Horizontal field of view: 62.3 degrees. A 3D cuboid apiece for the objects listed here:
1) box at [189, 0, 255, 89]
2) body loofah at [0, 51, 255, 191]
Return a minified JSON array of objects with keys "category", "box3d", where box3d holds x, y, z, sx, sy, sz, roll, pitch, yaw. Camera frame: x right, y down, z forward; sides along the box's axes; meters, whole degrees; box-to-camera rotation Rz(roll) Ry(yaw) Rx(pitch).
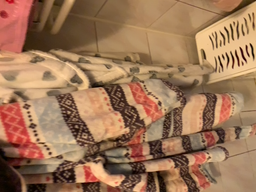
[{"category":"box","box3d":[0.630,-0.220,1.010,0.380,0.490,0.270,-28,68,54]},{"category":"body loofah","box3d":[0.060,0.120,0.650,0.220,1.120,0.370,-21,73,55]}]
